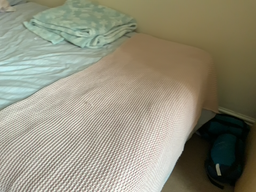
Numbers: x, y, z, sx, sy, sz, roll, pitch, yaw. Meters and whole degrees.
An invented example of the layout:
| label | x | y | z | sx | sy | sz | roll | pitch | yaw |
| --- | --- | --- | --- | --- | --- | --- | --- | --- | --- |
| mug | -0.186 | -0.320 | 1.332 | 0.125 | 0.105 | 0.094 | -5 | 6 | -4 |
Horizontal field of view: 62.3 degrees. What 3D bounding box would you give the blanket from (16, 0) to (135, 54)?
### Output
| label | x | y | z | sx | sy | sz | roll | pitch | yaw |
| --- | --- | --- | --- | --- | --- | --- | --- | --- | --- |
| blanket | -0.340 | -0.520 | 1.450 | 0.600 | 0.150 | 0.480 | 23 | 40 | 22 |
